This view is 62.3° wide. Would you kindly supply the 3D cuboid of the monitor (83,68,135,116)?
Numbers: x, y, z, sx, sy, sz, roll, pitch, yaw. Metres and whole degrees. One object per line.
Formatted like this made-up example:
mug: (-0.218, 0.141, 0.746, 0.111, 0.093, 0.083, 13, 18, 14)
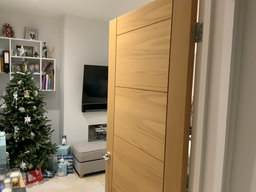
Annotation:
monitor: (-0.300, -0.100, 3.730, 0.980, 0.790, 0.050, -5, 8, -33)
